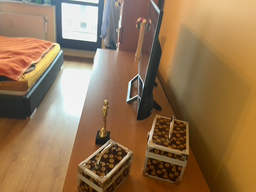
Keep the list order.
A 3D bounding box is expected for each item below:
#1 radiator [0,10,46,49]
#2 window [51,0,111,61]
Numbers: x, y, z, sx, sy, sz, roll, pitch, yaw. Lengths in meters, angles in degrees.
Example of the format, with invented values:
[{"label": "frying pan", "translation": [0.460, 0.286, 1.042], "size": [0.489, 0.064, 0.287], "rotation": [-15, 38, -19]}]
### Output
[{"label": "radiator", "translation": [-1.900, -1.160, 3.710], "size": [0.820, 0.570, 0.160], "rotation": [5, 28, -6]}, {"label": "window", "translation": [-0.800, -1.790, 3.700], "size": [1.030, 2.310, 0.150], "rotation": [4, 28, -7]}]
